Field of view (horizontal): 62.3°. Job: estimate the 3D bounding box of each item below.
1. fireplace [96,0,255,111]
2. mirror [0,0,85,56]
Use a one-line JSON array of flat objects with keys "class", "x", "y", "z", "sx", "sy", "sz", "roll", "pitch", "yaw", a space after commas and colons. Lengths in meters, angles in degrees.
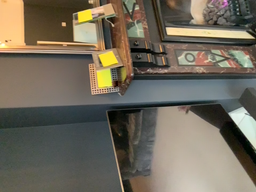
[{"class": "fireplace", "x": 0.400, "y": -0.750, "z": 1.630, "sx": 0.520, "sy": 1.200, "sz": 1.570, "roll": 124, "pitch": 141, "yaw": -63}, {"class": "mirror", "x": -0.670, "y": -0.710, "z": 1.330, "sx": 0.070, "sy": 0.710, "sz": 1.000, "roll": 125, "pitch": 140, "yaw": -64}]
